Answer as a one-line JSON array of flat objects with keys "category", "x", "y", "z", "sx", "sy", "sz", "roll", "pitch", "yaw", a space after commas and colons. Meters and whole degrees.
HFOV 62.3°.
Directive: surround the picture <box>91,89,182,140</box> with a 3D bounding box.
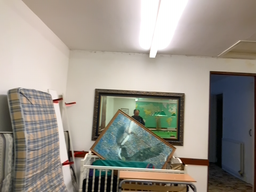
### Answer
[{"category": "picture", "x": 0.130, "y": 0.280, "z": 3.340, "sx": 1.360, "sy": 0.710, "sz": 0.110, "roll": 3, "pitch": -5, "yaw": 4}]
